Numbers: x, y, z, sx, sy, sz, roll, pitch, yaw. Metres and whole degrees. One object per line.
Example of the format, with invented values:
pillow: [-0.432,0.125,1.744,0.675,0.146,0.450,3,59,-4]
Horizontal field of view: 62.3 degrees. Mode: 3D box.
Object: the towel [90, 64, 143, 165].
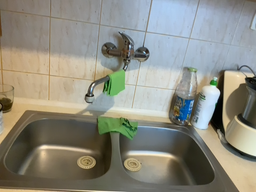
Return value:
towel: [-0.060,0.080,0.950,0.160,0.390,0.200,7,22,-6]
